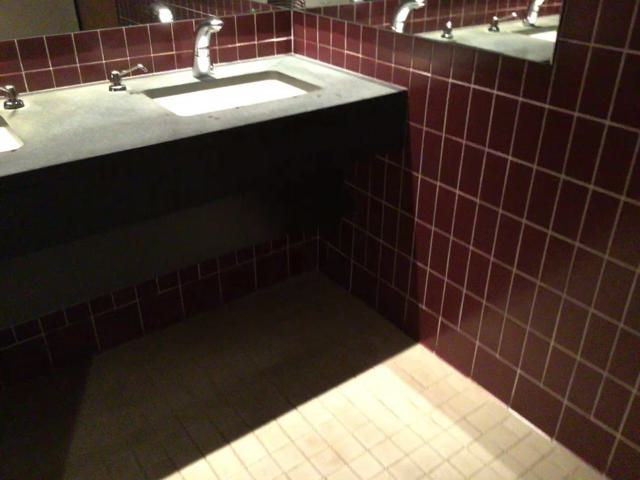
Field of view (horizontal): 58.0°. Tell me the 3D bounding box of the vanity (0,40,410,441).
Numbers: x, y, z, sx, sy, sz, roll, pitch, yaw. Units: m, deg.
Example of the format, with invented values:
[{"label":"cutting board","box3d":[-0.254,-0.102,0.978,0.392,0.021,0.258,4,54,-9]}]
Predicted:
[{"label":"vanity","box3d":[-0.610,-0.070,1.630,1.690,0.710,0.630,-19,34,-31]}]
